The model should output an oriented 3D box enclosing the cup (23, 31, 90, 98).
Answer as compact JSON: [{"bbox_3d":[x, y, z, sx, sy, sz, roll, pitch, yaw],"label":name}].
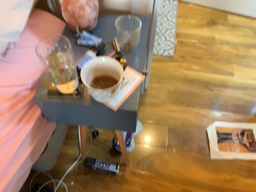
[{"bbox_3d":[-0.190,-0.090,0.600,0.120,0.090,0.150,7,58,4],"label":"cup"}]

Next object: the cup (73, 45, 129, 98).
[{"bbox_3d":[-0.070,-0.070,0.600,0.130,0.080,0.110,6,58,3],"label":"cup"}]
